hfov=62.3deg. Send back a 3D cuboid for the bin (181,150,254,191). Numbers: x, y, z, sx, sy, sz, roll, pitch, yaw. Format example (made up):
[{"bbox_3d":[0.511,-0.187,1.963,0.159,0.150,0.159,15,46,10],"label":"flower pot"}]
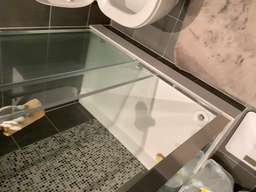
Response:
[{"bbox_3d":[0.540,0.550,1.300,0.270,0.230,0.240,39,127,28],"label":"bin"}]
